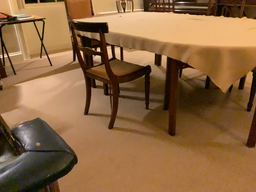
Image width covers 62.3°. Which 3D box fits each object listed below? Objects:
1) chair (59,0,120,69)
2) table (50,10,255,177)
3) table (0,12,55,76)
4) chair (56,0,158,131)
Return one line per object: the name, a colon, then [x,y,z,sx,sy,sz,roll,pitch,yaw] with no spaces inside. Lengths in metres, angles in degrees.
chair: [-0.550,-0.970,3.120,0.590,0.910,0.580,-21,33,-35]
table: [0.320,-0.420,2.200,1.250,0.710,2.300,-22,33,-35]
table: [-1.500,-0.770,2.990,0.600,0.710,0.580,-22,33,-35]
chair: [-0.150,-0.320,1.780,0.550,0.940,0.530,-22,33,-35]
